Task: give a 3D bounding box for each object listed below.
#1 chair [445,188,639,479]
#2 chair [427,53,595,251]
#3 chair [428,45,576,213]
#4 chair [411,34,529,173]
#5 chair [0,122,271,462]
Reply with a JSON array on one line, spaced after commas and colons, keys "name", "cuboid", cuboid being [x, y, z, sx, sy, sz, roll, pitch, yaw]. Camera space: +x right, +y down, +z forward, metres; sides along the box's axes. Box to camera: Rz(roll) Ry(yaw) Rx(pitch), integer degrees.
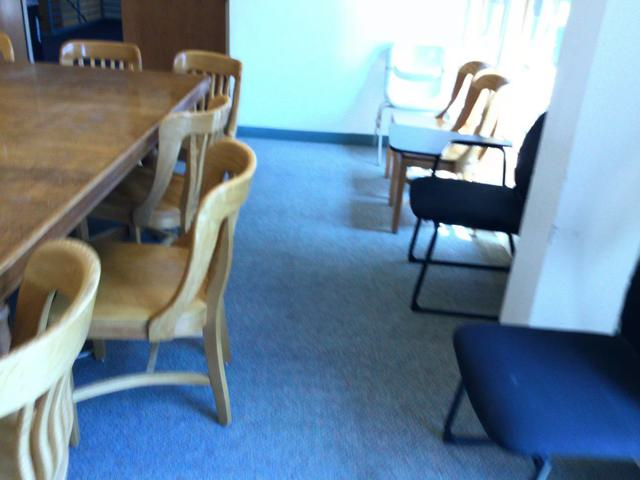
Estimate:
[{"name": "chair", "cuboid": [0.660, 0.210, 1.360, 0.600, 0.470, 0.510, 4, 26, 3]}, {"name": "chair", "cuboid": [0.930, -0.470, 3.010, 0.590, 0.860, 0.540, 4, 26, 3]}, {"name": "chair", "cuboid": [1.040, -0.680, 3.480, 0.620, 0.850, 0.520, 4, 26, 3]}, {"name": "chair", "cuboid": [1.020, -0.980, 4.110, 0.620, 0.830, 0.540, 4, 26, 3]}, {"name": "chair", "cuboid": [-0.520, 0.130, 1.770, 0.650, 0.810, 0.570, 4, 26, 3]}]
